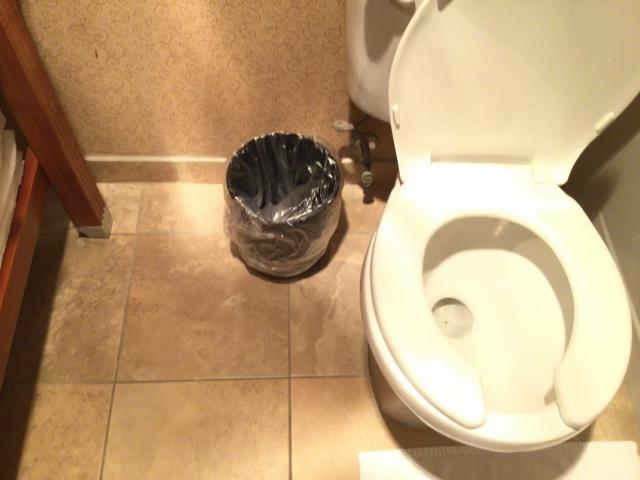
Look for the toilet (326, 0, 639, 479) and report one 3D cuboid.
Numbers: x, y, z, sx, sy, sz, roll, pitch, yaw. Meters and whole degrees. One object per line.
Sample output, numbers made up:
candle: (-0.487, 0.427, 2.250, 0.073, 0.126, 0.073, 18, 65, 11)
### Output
toilet: (0.270, -0.050, 0.860, 0.480, 0.770, 0.680, -1, 59, -2)
